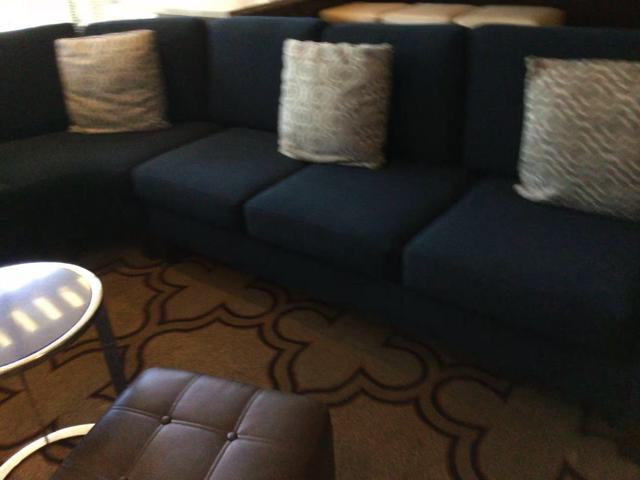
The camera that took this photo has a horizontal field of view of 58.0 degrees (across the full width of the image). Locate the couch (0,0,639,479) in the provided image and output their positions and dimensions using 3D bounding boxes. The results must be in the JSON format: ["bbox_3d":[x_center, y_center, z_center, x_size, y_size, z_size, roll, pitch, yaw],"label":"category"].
[{"bbox_3d":[-0.620,-0.040,1.810,3.030,1.080,2.680,15,33,31],"label":"couch"}]
